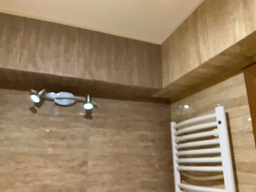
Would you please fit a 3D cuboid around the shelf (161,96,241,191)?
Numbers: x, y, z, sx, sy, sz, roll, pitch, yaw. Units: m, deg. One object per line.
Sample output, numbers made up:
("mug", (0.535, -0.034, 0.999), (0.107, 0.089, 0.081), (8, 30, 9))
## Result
("shelf", (0.380, 0.430, 1.220), (0.080, 0.740, 0.540), (6, -17, -21))
